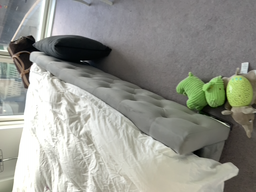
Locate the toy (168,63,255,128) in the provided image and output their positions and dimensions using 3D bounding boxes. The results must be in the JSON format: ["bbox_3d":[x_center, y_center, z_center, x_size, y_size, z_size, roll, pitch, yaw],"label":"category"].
[{"bbox_3d":[0.430,-0.020,1.090,0.410,0.120,0.210,24,106,43],"label":"toy"}]
